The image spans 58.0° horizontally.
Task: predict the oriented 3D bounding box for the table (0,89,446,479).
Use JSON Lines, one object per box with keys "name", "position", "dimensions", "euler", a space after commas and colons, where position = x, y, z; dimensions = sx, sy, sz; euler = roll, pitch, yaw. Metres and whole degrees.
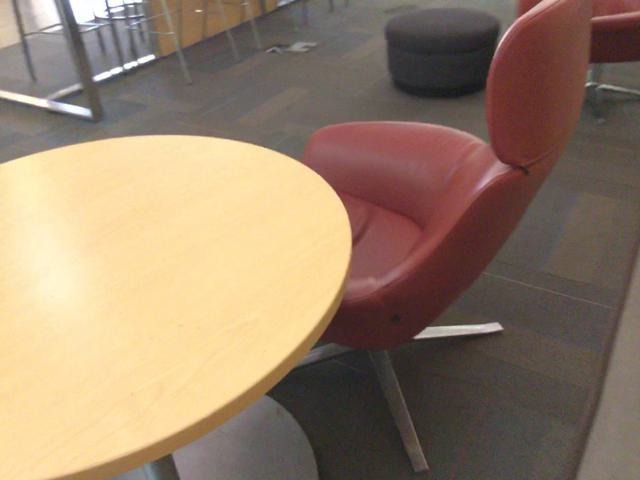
{"name": "table", "position": [-0.360, 0.310, 1.190], "dimensions": [0.870, 0.780, 0.940], "euler": [18, 44, 26]}
